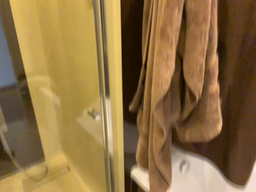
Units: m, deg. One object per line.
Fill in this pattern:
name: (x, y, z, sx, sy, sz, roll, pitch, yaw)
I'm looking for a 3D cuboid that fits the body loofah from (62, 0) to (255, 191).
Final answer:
body loofah: (0.320, -0.130, 0.890, 0.930, 1.000, 0.560, -21, 33, -36)
